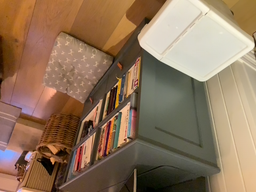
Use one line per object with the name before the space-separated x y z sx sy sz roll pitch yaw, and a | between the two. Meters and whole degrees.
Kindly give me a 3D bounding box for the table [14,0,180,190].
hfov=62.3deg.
table | -0.300 0.070 1.780 0.680 1.030 1.260 24 139 -23
